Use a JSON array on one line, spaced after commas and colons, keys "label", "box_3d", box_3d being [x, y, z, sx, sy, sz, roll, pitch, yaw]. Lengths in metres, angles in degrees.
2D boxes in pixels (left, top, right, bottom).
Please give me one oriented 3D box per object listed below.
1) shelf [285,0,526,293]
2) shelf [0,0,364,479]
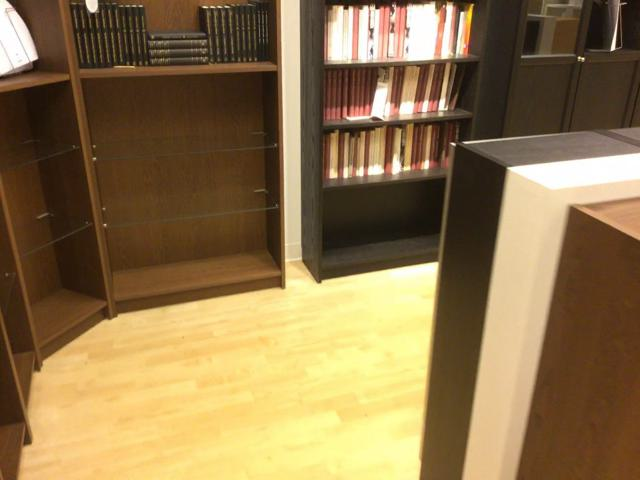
[{"label": "shelf", "box_3d": [0.350, -0.840, 2.640, 0.890, 1.990, 0.590, -7, 22, -16]}, {"label": "shelf", "box_3d": [-0.750, -0.450, 1.800, 1.170, 2.170, 1.850, 23, 32, 7]}]
